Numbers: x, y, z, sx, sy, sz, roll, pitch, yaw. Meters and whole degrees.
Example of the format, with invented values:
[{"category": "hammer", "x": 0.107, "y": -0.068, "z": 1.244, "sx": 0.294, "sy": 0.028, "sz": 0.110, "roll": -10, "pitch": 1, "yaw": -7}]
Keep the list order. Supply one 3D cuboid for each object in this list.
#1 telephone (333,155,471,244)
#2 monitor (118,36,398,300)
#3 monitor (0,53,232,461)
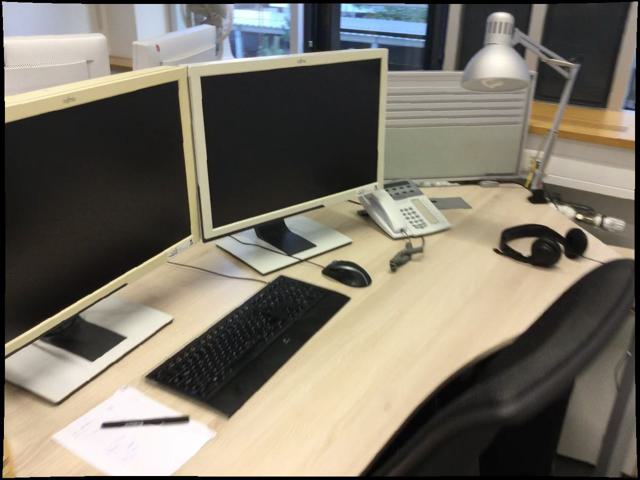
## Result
[{"category": "telephone", "x": 0.240, "y": -0.130, "z": 1.680, "sx": 0.300, "sy": 0.120, "sz": 0.280, "roll": 16, "pitch": 30, "yaw": 29}, {"category": "monitor", "x": -0.120, "y": -0.210, "z": 1.430, "sx": 0.620, "sy": 0.500, "sz": 0.210, "roll": -18, "pitch": 31, "yaw": -33}, {"category": "monitor", "x": -0.460, "y": -0.030, "z": 1.040, "sx": 0.280, "sy": 0.500, "sz": 0.560, "roll": 14, "pitch": 29, "yaw": 27}]
